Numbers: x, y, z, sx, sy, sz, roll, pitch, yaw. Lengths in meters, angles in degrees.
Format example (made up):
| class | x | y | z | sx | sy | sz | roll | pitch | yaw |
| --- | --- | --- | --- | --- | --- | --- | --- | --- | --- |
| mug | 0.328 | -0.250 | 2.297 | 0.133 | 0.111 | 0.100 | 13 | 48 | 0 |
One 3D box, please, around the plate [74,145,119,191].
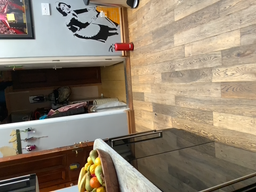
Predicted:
| class | x | y | z | sx | sy | sz | roll | pitch | yaw |
| --- | --- | --- | --- | --- | --- | --- | --- | --- | --- |
| plate | -0.230 | 0.610 | 1.470 | 0.470 | 0.180 | 0.400 | -176 | 81 | -66 |
